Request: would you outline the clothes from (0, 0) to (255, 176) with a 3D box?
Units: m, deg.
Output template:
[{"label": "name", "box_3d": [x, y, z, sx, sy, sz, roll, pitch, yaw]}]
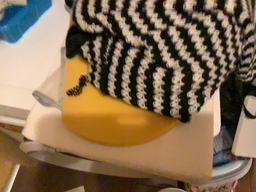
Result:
[{"label": "clothes", "box_3d": [-0.020, -0.140, 0.440, 0.530, 0.170, 0.500, 8, 64, 0]}]
